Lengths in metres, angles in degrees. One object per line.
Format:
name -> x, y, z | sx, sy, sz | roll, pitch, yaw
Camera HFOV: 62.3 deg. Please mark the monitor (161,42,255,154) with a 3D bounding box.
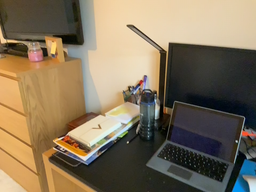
monitor -> 0.410, 0.000, 0.960 | 0.530, 0.440, 0.050 | 13, 25, 32
